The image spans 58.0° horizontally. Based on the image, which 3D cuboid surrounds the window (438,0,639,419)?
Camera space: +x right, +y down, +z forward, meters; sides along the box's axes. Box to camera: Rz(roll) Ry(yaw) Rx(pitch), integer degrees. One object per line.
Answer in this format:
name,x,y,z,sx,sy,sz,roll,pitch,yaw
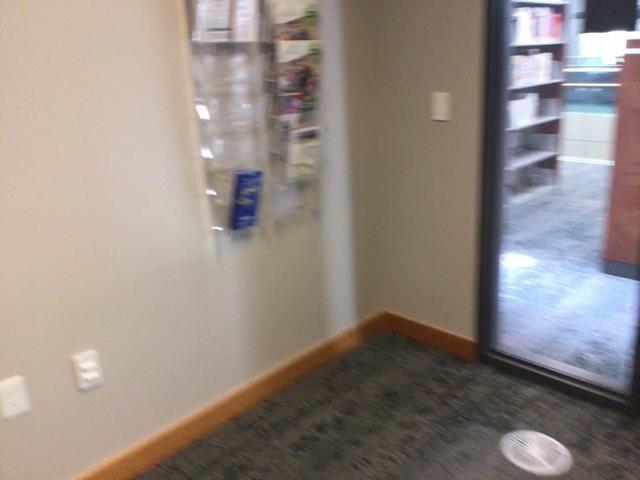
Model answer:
window,0.870,-0.270,2.230,0.710,1.760,0.350,12,24,41
